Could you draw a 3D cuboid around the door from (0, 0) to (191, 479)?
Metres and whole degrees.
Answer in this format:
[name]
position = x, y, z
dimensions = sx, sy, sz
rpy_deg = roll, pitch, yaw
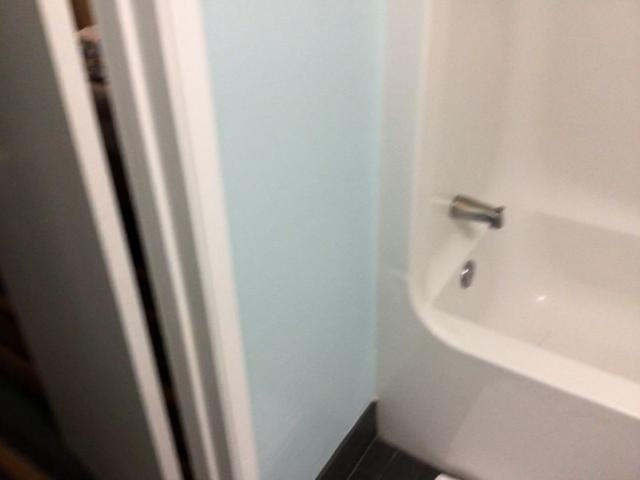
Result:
[door]
position = -0.550, 0.140, 1.190
dimensions = 0.600, 1.270, 0.080
rpy_deg = 22, 40, 36
